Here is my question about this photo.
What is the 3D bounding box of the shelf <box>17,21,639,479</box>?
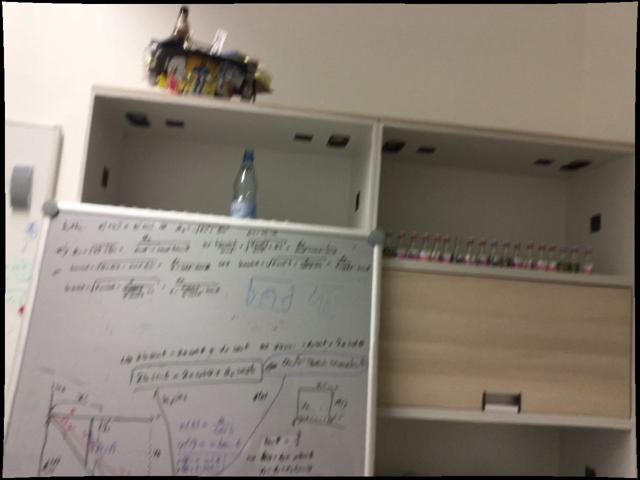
[{"bbox_3d":[0.120,0.621,1.690,1.688,2.242,0.600,1,-5,-4],"label":"shelf"}]
